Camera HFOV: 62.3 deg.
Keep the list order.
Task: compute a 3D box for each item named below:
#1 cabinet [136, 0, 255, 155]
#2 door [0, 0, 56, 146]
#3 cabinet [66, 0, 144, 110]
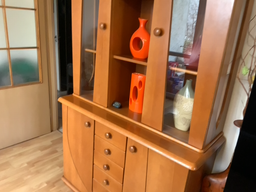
[{"bbox_3d":[0.360,-0.330,1.120,0.410,1.140,0.340,21,25,38],"label":"cabinet"},{"bbox_3d":[-1.180,-0.460,2.150,0.080,2.010,0.860,21,25,38],"label":"door"},{"bbox_3d":[-0.170,-0.530,1.540,0.400,1.140,0.370,21,25,38],"label":"cabinet"}]
